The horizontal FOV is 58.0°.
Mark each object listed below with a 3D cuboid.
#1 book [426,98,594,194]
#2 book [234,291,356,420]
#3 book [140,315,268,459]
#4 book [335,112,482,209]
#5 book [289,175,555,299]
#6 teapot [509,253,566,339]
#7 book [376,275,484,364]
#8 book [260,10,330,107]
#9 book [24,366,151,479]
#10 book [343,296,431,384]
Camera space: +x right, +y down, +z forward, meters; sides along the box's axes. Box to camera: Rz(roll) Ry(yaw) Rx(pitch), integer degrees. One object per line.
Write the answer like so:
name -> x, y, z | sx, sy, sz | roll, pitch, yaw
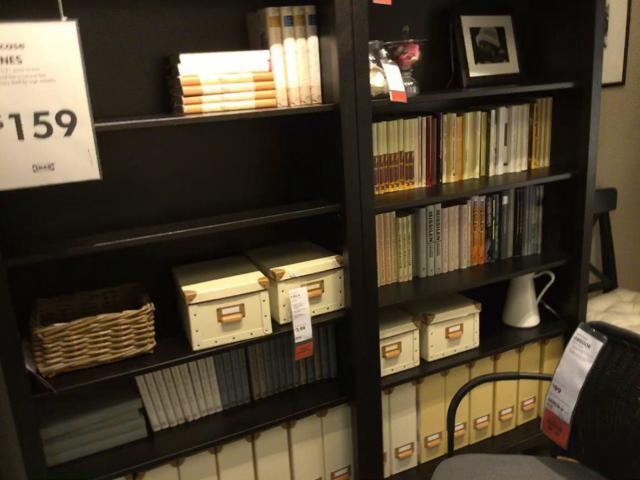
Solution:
book -> 0.580, -0.300, 1.790 | 0.400, 0.230, 0.280 | -10, 14, -18
book -> -0.080, 0.330, 1.730 | 0.280, 0.250, 0.250 | -10, 14, -18
book -> -0.330, 0.390, 1.610 | 0.280, 0.230, 0.300 | -10, 14, -18
book -> 0.250, -0.240, 1.670 | 0.320, 0.220, 0.270 | -10, 14, -18
book -> 0.350, -0.040, 2.010 | 0.820, 0.240, 0.380 | -10, 14, -18
teapot -> 0.750, 0.190, 2.000 | 0.120, 0.250, 0.140 | -10, 14, -18
book -> 0.370, 0.260, 1.980 | 0.230, 0.170, 0.310 | -10, 14, -18
book -> -0.070, -0.490, 1.580 | 0.130, 0.230, 0.150 | -10, 14, -18
book -> -0.610, 0.480, 1.540 | 0.270, 0.140, 0.250 | -10, 14, -18
book -> 0.210, 0.310, 1.840 | 0.180, 0.170, 0.240 | -10, 14, -18
